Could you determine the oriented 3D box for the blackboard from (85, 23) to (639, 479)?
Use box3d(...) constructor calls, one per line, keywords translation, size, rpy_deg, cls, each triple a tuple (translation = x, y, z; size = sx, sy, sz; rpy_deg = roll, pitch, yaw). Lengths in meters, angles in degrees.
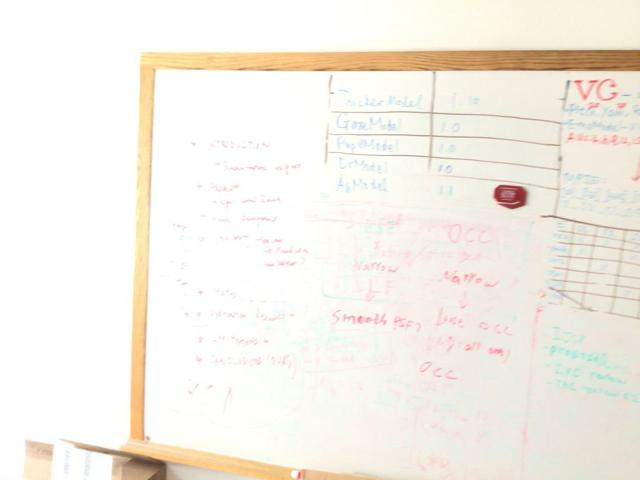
box3d(translation=(0.250, 0.110, 1.500), size=(1.850, 1.270, 0.110), rpy_deg=(4, 3, 15), cls="blackboard")
